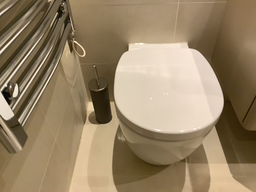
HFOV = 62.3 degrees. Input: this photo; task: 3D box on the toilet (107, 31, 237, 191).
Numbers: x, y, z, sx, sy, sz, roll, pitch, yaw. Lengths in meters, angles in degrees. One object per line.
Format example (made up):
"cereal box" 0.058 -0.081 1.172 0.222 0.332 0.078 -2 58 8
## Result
"toilet" 0.130 0.060 0.930 0.350 0.460 0.540 0 44 2
